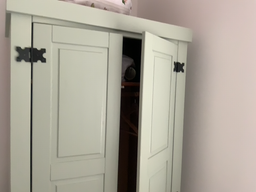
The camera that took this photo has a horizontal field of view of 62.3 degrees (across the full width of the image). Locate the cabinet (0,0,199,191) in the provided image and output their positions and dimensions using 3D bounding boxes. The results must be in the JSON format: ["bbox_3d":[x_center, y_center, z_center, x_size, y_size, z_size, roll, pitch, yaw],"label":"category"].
[{"bbox_3d":[-0.210,0.540,1.240,0.910,1.820,0.650,0,5,-34],"label":"cabinet"}]
